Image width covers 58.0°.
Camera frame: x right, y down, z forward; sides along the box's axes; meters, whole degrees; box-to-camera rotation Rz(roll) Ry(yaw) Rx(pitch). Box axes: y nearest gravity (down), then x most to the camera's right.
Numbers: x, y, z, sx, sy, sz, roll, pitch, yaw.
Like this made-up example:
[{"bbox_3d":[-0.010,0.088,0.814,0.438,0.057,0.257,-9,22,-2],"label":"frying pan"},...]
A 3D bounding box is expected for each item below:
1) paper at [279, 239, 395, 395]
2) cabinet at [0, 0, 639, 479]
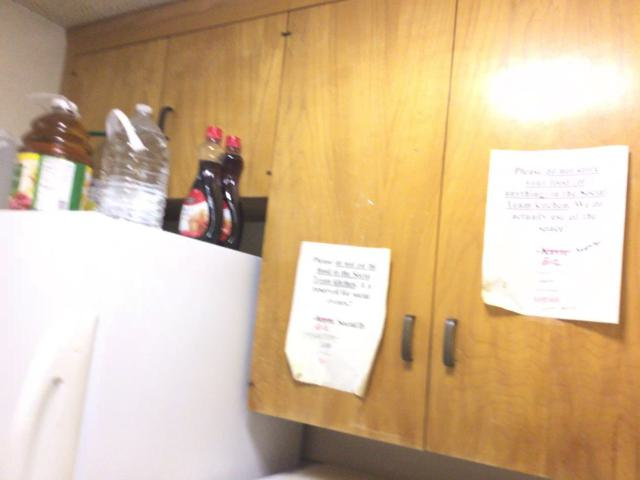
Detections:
[{"bbox_3d":[0.030,0.140,1.120,0.210,0.280,0.030,2,-9,32],"label":"paper"},{"bbox_3d":[0.230,-0.110,1.050,2.420,0.980,0.130,2,-9,32],"label":"cabinet"}]
